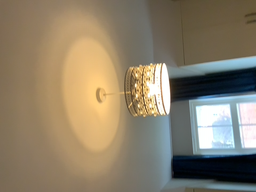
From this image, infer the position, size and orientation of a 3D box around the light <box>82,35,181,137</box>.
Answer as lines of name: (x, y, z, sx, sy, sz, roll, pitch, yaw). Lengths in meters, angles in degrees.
light: (0.030, -0.020, 1.240, 0.350, 0.410, 0.420, 30, -135, -66)

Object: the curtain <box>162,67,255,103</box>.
curtain: (1.430, -0.170, 3.250, 0.170, 1.750, 0.380, -49, -49, -63)
